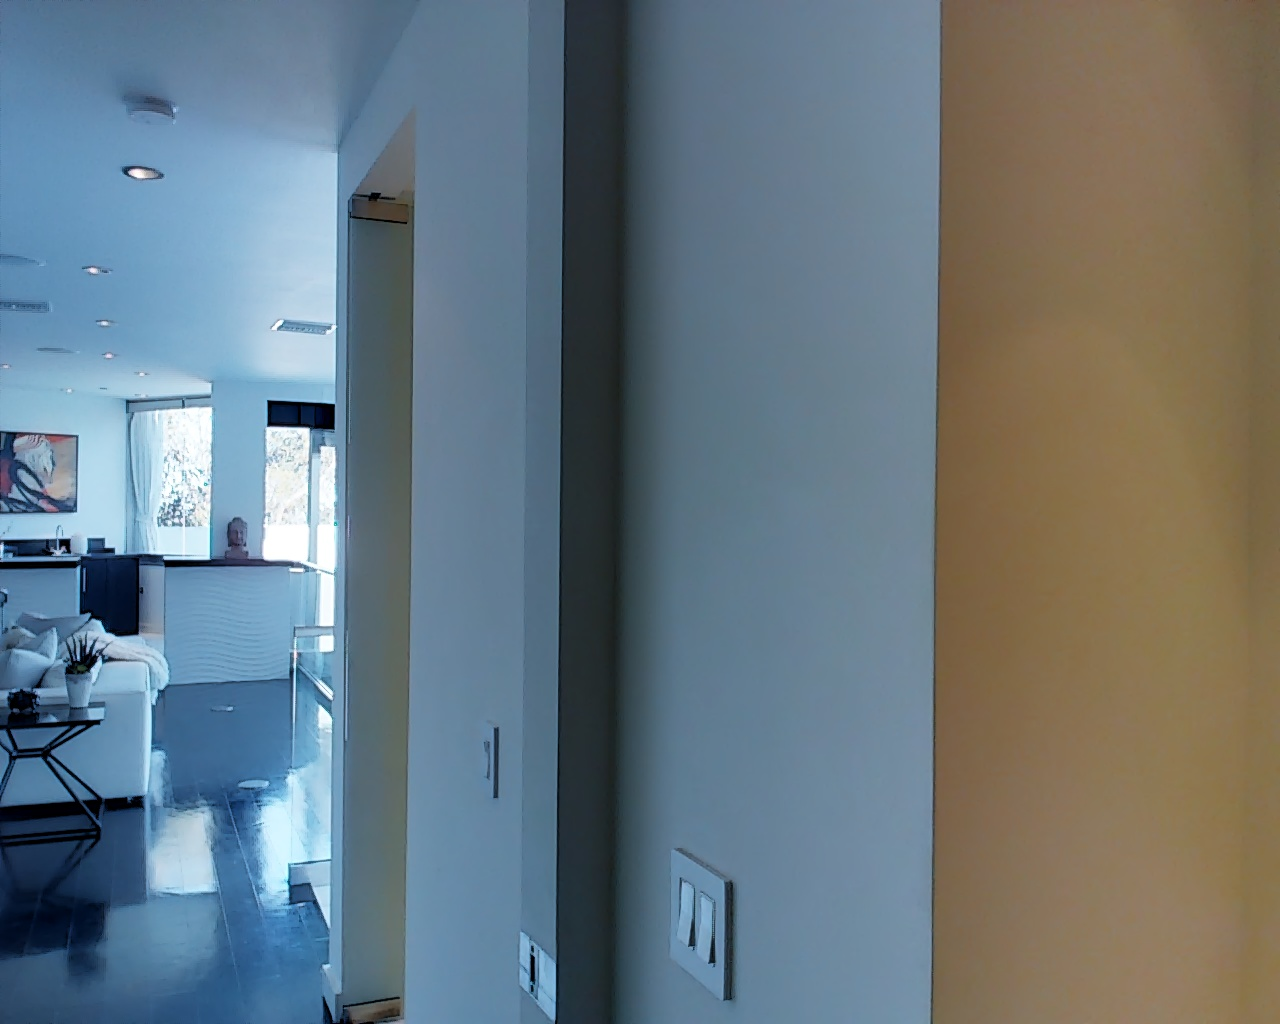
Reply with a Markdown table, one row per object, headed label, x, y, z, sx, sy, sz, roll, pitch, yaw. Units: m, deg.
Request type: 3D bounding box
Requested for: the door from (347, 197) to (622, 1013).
| label | x | y | z | sx | sy | sz | roll | pitch | yaw |
| --- | --- | --- | --- | --- | --- | --- | --- | --- | --- |
| door | -0.450 | 0.270 | 3.170 | 0.770 | 2.350 | 0.110 | 1 | 0 | -2 |
